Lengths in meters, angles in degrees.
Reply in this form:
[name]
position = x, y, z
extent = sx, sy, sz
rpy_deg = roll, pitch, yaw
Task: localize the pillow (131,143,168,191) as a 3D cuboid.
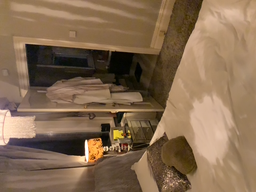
[pillow]
position = 0.210, 0.850, 2.080
extent = 0.160, 0.320, 0.690
rpy_deg = -3, 40, -15
